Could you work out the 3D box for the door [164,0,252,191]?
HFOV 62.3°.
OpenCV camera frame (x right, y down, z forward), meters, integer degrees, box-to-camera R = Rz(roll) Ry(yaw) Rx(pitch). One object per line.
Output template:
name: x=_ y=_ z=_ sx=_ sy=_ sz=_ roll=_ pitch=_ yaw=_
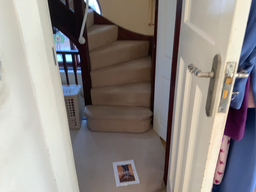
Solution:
door: x=0.290 y=0.120 z=1.050 sx=0.050 sy=2.020 sz=0.710 roll=1 pitch=26 yaw=4
